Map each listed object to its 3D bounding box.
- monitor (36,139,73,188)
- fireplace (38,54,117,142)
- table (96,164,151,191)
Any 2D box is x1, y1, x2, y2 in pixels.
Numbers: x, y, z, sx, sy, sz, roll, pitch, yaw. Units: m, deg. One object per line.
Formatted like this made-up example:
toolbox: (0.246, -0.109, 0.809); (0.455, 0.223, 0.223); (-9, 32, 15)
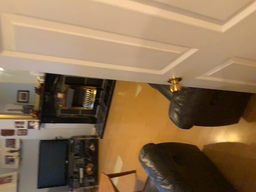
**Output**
monitor: (-1.420, 1.290, 4.140); (0.050, 0.660, 0.860); (-15, 73, 62)
fireplace: (-0.970, 0.080, 3.900); (0.520, 1.150, 1.420); (50, 130, 55)
table: (-0.100, 1.360, 2.680); (0.550, 0.480, 0.780); (14, 99, 63)
